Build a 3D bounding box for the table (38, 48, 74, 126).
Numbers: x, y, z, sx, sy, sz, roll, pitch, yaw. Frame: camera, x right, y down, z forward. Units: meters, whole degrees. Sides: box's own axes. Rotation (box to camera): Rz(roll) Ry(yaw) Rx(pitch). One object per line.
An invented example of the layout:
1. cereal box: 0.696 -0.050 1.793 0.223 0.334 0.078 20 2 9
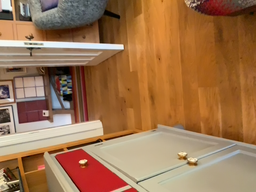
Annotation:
1. table: -1.370 -0.180 4.050 0.280 0.470 1.400 1 97 60
